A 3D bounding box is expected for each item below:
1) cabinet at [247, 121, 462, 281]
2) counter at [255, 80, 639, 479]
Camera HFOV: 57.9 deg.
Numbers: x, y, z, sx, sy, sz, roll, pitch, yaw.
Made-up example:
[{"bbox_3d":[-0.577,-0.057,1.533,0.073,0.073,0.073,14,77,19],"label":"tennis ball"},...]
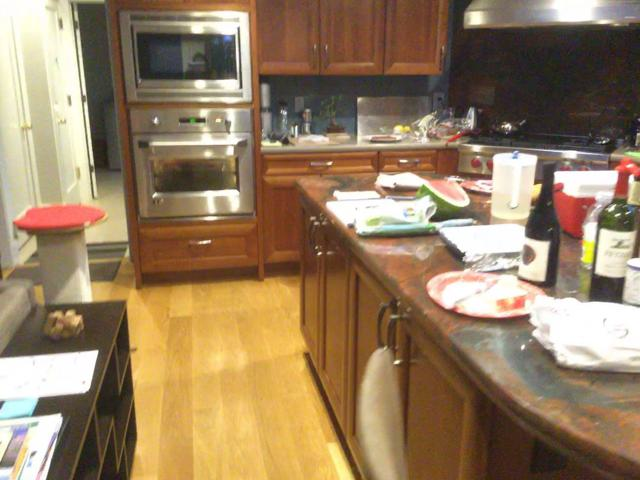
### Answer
[{"bbox_3d":[0.220,-0.260,3.710,1.320,0.940,0.190,-4,19,-11],"label":"cabinet"},{"bbox_3d":[1.190,-0.370,2.440,2.580,0.380,3.800,-3,19,-10],"label":"counter"}]
